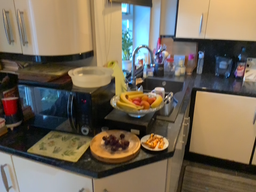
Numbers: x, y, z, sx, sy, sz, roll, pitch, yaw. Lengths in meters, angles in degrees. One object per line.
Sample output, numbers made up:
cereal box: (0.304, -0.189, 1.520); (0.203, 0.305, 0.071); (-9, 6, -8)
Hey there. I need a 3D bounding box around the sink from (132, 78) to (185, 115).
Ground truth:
sink: (0.320, -0.010, 2.210); (0.470, 0.220, 0.350); (8, 22, 19)
